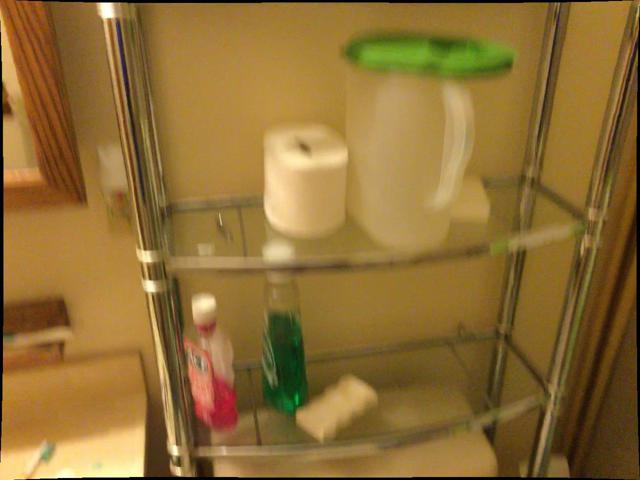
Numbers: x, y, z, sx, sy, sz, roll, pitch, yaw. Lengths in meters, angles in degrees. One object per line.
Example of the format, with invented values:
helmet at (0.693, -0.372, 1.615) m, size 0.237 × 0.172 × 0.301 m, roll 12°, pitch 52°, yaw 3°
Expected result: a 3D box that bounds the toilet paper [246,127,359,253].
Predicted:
toilet paper at (-0.030, -0.080, 0.840) m, size 0.130 × 0.120 × 0.170 m, roll -7°, pitch 26°, yaw -11°
